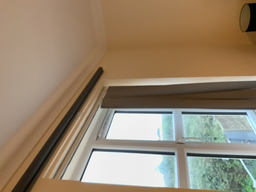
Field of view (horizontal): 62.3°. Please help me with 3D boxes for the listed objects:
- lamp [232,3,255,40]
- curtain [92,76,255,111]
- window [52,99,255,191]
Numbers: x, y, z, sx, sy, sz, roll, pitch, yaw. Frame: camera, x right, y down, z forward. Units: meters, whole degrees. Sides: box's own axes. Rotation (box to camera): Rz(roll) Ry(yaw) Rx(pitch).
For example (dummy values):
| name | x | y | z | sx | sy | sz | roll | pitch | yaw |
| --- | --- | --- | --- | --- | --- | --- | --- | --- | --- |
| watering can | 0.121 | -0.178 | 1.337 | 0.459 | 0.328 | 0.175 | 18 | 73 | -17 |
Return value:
| name | x | y | z | sx | sy | sz | roll | pitch | yaw |
| --- | --- | --- | --- | --- | --- | --- | --- | --- | --- |
| lamp | 1.220 | -0.690 | 1.940 | 0.300 | 0.380 | 0.250 | -75 | -18 | -57 |
| curtain | 0.380 | -0.020 | 1.650 | 0.300 | 1.270 | 0.130 | -74 | -19 | -58 |
| window | 0.350 | 0.310 | 1.500 | 1.010 | 1.400 | 0.080 | -74 | -20 | -59 |
